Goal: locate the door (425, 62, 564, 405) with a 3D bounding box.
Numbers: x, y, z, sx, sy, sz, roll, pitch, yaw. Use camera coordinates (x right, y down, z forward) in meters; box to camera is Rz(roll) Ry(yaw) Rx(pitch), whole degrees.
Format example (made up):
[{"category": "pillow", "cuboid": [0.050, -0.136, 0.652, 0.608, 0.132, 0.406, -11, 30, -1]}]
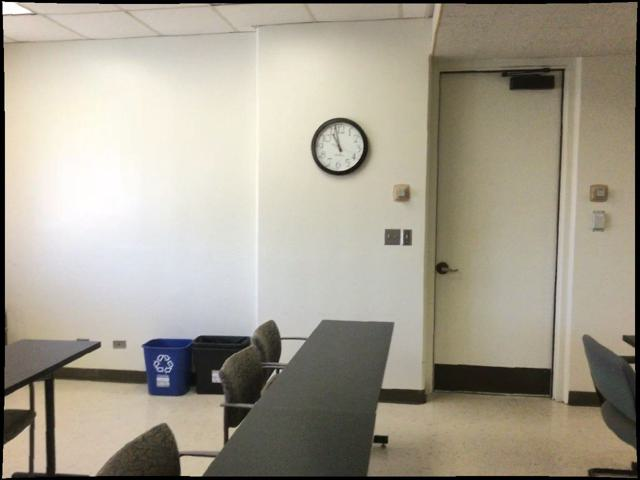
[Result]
[{"category": "door", "cuboid": [1.237, -0.020, 4.170, 0.918, 2.386, 0.200, 0, 5, 9]}]
